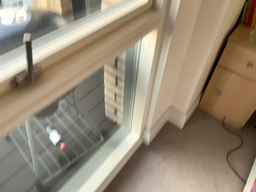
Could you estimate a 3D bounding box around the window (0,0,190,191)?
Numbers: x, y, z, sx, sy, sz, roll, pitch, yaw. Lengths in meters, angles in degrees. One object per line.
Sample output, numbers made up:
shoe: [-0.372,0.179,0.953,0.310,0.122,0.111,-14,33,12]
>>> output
window: [-0.220,-0.250,0.350,0.200,2.520,1.290,32,51,24]
